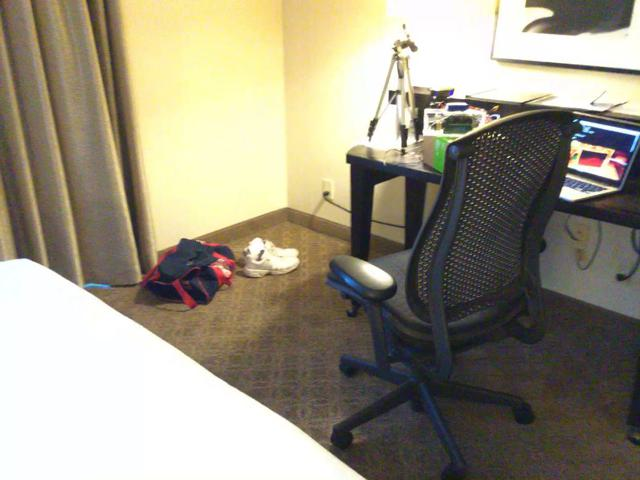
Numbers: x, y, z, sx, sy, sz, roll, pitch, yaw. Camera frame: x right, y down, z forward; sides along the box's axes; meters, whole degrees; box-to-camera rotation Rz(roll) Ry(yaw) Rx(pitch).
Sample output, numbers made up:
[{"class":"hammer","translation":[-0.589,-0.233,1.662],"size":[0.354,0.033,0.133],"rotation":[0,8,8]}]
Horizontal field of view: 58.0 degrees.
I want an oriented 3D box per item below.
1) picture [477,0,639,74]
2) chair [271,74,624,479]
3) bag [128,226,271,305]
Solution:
[{"class":"picture","translation":[0.930,-1.080,2.070],"size":[0.700,0.890,0.070],"rotation":[20,31,41]},{"class":"chair","translation":[0.340,0.110,1.750],"size":[0.660,1.070,0.650],"rotation":[-19,28,-35]},{"class":"bag","translation":[-0.580,0.110,2.900],"size":[0.510,0.140,0.530],"rotation":[5,24,14]}]
